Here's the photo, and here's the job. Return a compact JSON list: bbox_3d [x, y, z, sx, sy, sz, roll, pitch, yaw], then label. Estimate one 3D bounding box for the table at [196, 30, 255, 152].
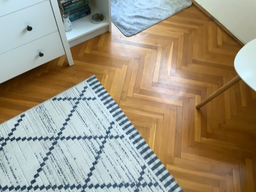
[{"bbox_3d":[0.850,-0.020,1.280,0.550,0.440,0.520,37,64,16],"label":"table"}]
